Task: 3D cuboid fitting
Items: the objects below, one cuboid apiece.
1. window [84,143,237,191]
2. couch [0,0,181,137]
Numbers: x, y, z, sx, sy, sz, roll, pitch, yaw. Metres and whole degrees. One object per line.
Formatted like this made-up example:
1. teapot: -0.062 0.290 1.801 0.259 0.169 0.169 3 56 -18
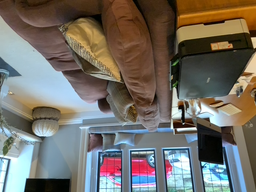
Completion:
1. window: 0.520 1.720 3.920 2.730 1.530 0.190 -5 157 8
2. couch: -0.220 -0.260 1.900 1.110 0.860 1.670 -4 157 7
